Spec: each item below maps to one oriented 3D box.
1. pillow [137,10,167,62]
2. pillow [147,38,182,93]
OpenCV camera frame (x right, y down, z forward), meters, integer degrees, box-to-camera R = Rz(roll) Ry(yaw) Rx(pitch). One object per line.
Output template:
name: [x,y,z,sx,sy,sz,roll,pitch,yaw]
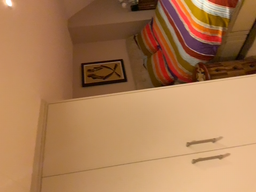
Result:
pillow: [0.350,-0.940,3.300,0.400,0.300,0.700,87,173,-54]
pillow: [0.470,-0.420,2.910,0.390,0.290,0.620,87,173,-54]
